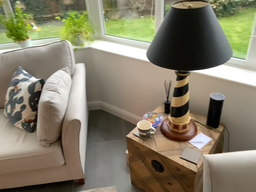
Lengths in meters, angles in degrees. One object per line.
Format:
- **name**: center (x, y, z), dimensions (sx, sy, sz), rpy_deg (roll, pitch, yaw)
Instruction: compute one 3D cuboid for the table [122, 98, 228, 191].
- **table**: center (0.340, 0.430, 1.580), dimensions (0.520, 0.500, 0.530), rpy_deg (21, 41, 33)
